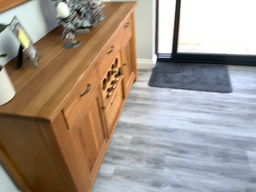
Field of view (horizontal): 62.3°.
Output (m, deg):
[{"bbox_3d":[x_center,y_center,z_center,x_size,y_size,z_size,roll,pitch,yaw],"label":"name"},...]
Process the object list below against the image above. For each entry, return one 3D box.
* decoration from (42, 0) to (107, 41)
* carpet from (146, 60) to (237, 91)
[{"bbox_3d":[-0.360,-0.640,1.490,0.270,0.360,0.360,8,39,15],"label":"decoration"},{"bbox_3d":[0.730,-0.270,2.550,0.970,0.030,0.560,4,38,10],"label":"carpet"}]
